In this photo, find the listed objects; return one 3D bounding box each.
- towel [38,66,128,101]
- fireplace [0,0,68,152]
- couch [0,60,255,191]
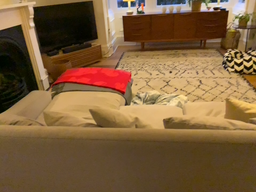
[{"bbox_3d":[-0.450,-0.150,2.290,0.840,0.200,0.430,2,28,9],"label":"towel"},{"bbox_3d":[-1.330,-0.340,2.280,0.540,1.150,1.650,2,28,9],"label":"fireplace"},{"bbox_3d":[0.100,0.280,1.430,2.190,0.740,1.020,2,28,8],"label":"couch"}]
